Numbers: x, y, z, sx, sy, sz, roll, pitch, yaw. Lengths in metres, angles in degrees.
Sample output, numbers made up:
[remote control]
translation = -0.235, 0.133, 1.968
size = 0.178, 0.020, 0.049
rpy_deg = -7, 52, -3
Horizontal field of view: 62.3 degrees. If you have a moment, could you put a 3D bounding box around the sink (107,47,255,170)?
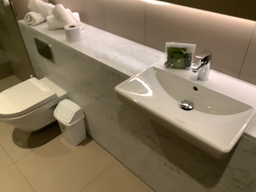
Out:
[sink]
translation = 0.270, -0.010, 1.020
size = 0.570, 0.140, 0.470
rpy_deg = 29, 48, 33

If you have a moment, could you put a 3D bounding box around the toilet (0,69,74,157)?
[toilet]
translation = -0.860, 0.130, 1.890
size = 0.400, 0.460, 0.520
rpy_deg = 30, 48, 34
